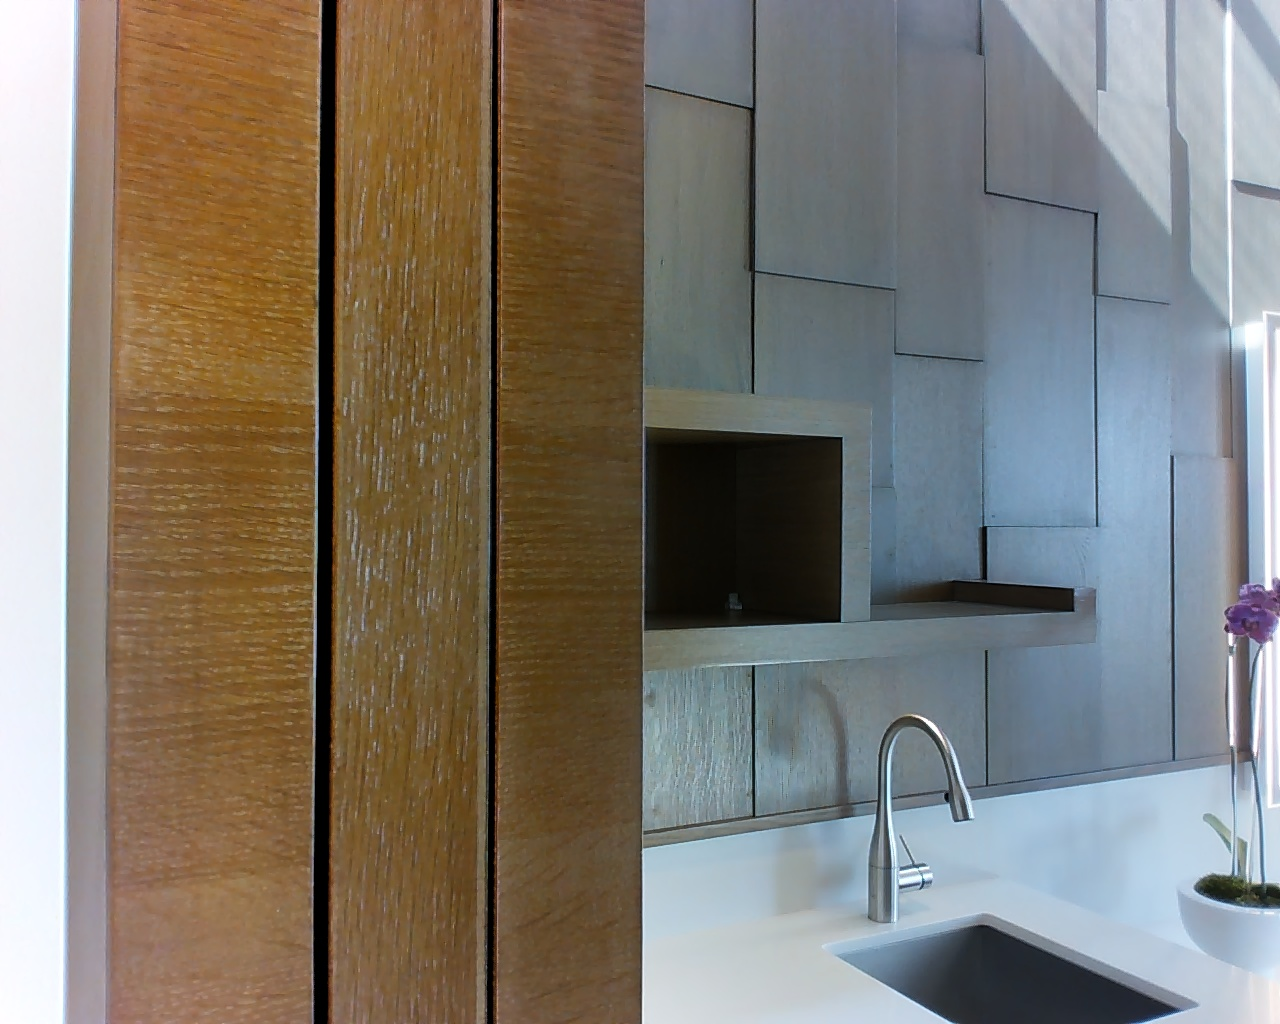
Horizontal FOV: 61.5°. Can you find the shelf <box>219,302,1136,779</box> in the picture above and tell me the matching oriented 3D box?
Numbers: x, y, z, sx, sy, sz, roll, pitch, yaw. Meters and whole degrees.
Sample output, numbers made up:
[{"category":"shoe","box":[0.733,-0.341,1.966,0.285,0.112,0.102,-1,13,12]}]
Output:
[{"category":"shelf","box":[0.130,0.040,1.530,1.330,0.490,0.280,1,-1,-27]}]

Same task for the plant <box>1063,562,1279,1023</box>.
[{"category":"plant","box":[1.090,0.460,1.850,0.420,0.730,0.530,1,-1,-26]}]
